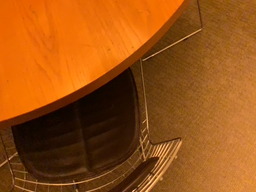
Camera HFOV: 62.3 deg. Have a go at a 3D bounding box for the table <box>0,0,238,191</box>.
[{"bbox_3d":[-0.430,-0.420,1.030,1.410,0.750,1.410,36,74,18],"label":"table"}]
